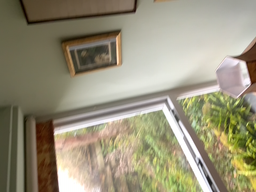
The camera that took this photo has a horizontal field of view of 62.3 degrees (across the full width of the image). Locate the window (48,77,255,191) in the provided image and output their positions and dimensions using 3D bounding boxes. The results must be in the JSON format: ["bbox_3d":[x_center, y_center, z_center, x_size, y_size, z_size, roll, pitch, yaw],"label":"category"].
[{"bbox_3d":[0.450,0.410,1.480,0.140,1.860,0.990,94,160,-51],"label":"window"}]
